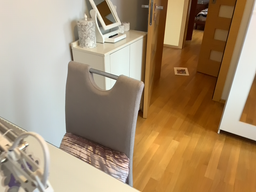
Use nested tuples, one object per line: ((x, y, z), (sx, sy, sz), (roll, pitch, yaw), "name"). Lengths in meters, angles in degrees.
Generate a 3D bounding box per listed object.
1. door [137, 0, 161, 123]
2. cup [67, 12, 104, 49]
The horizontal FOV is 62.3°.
((0.240, -0.830, 2.070), (0.100, 2.100, 0.830), (7, 31, 8), "door")
((-0.300, -0.480, 1.540), (0.180, 0.200, 0.180), (16, 34, 23), "cup")
